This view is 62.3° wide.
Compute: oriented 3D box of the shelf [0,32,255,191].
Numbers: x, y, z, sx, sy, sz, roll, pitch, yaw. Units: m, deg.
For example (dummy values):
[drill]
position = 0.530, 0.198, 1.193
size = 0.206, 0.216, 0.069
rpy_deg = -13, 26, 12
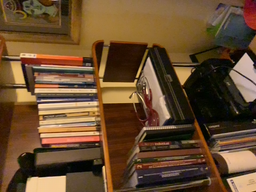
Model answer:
[shelf]
position = 0.230, 0.130, 1.060
size = 0.360, 1.590, 0.840
rpy_deg = 108, 155, -49
